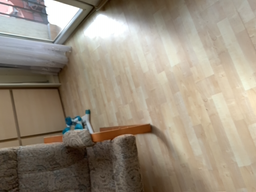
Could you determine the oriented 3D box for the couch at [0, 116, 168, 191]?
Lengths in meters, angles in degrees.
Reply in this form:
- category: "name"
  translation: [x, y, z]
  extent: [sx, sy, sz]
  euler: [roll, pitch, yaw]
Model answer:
- category: "couch"
  translation: [-0.400, 0.620, 1.540]
  extent: [0.870, 1.040, 0.750]
  euler: [-15, 81, 43]
